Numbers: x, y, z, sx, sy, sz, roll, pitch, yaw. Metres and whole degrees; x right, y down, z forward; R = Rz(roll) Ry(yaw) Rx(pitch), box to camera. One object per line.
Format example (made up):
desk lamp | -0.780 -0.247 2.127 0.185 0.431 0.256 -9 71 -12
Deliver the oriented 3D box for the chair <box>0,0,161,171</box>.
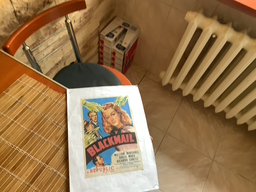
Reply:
chair | -0.220 0.000 1.080 0.440 0.830 0.400 29 59 8
